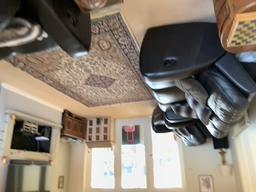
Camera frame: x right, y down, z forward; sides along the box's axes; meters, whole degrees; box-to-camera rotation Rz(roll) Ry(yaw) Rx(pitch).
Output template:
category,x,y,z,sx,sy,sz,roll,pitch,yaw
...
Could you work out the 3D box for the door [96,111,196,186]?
category,x,y,z,sx,sy,sz,roll,pitch,yaw
door,0.370,1.450,5.820,2.660,1.860,0.110,-7,160,16
